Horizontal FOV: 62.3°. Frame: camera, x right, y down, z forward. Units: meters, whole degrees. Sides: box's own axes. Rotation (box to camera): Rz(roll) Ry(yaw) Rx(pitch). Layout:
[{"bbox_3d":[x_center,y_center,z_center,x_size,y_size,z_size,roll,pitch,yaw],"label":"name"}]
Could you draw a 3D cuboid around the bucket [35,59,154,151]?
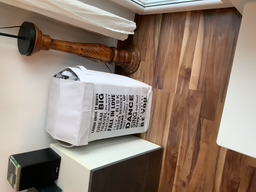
[{"bbox_3d":[-0.200,0.030,1.450,0.370,0.670,0.450,14,99,41],"label":"bucket"}]
